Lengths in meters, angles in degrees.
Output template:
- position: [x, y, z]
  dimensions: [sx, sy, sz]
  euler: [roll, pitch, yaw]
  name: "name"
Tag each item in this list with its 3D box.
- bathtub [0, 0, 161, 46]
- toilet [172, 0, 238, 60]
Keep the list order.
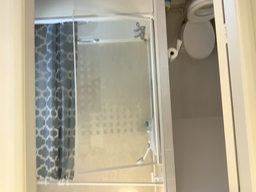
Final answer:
- position: [-0.480, -0.970, 2.340]
  dimensions: [1.540, 0.570, 0.700]
  euler: [-2, 175, -2]
  name: "bathtub"
- position: [0.810, -0.890, 2.380]
  dimensions: [0.470, 0.820, 0.630]
  euler: [-2, 175, 0]
  name: "toilet"
